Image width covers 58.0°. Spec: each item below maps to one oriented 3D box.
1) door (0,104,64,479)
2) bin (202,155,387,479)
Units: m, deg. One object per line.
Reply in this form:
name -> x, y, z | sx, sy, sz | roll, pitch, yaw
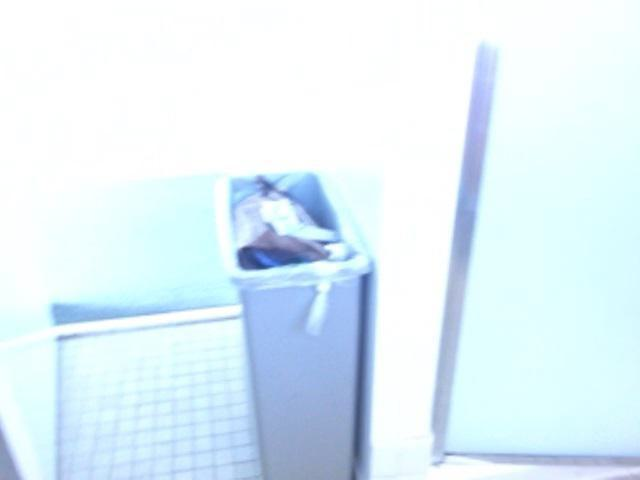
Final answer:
door -> -0.820, -0.150, 1.330 | 0.110, 1.600, 0.720 | -10, 30, -18
bin -> -0.090, 0.250, 1.450 | 0.310, 0.760, 0.540 | -6, 29, -12
